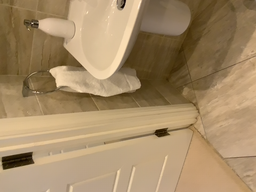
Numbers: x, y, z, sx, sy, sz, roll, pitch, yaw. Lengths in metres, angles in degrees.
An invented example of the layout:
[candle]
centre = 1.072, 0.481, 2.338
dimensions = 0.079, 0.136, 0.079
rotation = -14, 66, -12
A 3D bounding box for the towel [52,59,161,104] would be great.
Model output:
[towel]
centre = -0.090, -0.070, 1.050
dimensions = 0.180, 0.500, 0.120
rotation = 44, 124, 42

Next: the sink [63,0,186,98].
[sink]
centre = -0.030, -0.360, 0.790
dimensions = 0.450, 0.180, 0.580
rotation = 43, 123, 42
